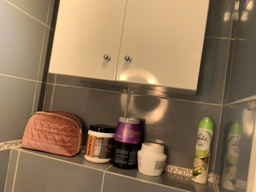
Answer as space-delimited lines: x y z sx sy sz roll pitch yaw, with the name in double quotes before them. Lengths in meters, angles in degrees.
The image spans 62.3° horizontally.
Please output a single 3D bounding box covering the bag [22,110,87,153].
"bag" -0.300 0.140 0.880 0.200 0.130 0.130 8 -2 19
